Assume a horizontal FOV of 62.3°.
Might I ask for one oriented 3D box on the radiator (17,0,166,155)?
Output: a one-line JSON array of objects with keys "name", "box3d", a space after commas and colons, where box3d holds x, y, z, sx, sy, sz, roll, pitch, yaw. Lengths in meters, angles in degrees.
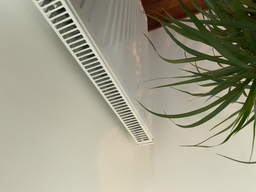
[{"name": "radiator", "box3d": [-0.040, -0.280, 0.910, 0.150, 0.860, 0.560, -17, 134, 20]}]
